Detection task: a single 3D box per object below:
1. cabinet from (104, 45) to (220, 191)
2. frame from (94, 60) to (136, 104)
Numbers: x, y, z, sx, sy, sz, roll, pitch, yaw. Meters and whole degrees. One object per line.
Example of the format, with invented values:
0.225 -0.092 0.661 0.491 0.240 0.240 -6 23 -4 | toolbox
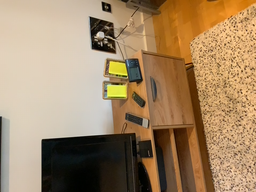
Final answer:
0.260 0.680 1.380 0.430 0.530 1.900 -23 69 52 | cabinet
-0.090 -0.080 1.380 0.220 0.170 0.230 -18 73 53 | frame
